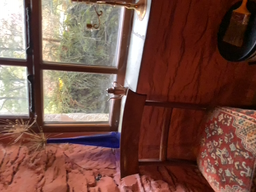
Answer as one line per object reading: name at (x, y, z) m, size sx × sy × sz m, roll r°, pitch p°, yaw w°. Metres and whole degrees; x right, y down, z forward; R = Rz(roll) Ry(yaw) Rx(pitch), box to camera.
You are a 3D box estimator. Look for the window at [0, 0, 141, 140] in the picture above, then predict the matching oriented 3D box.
window at (-0.510, -0.170, 1.270) m, size 0.110 × 1.050 × 0.940 m, roll -124°, pitch 40°, yaw -60°
